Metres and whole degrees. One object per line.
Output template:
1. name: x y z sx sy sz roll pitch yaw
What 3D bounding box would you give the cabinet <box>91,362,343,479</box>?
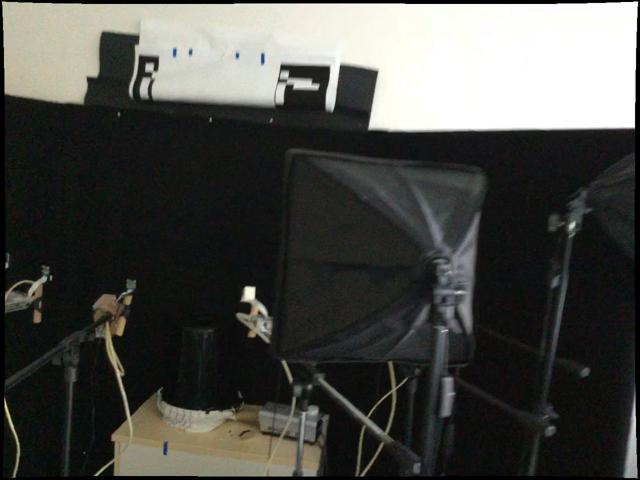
1. cabinet: -0.390 0.931 2.360 0.879 0.611 0.500 5 10 7
